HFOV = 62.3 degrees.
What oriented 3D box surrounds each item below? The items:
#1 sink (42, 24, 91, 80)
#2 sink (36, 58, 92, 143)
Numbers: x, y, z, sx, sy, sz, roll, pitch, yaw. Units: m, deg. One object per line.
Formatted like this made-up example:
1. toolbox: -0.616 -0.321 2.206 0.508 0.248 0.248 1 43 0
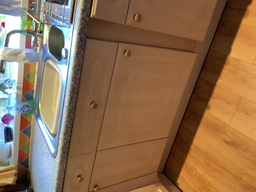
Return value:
1. sink: -0.340 -0.240 1.120 0.320 0.130 0.200 38 121 47
2. sink: -0.390 0.010 1.230 0.370 0.160 0.350 38 121 47
